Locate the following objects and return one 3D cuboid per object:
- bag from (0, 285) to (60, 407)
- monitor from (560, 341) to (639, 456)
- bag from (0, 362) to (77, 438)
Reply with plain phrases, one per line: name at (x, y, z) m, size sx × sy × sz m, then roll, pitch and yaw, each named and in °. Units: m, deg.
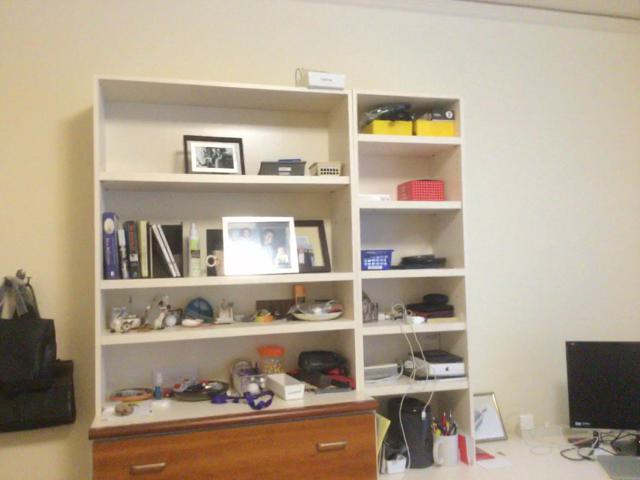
bag at (-1.040, 0.340, 1.900) m, size 0.310 × 0.370 × 0.190 m, roll -1°, pitch -3°, yaw -17°
monitor at (1.250, 0.620, 2.300) m, size 0.500 × 0.410 × 0.200 m, roll -2°, pitch -3°, yaw 10°
bag at (-1.010, 0.540, 1.960) m, size 0.330 × 0.210 × 0.130 m, roll -1°, pitch -3°, yaw -17°
